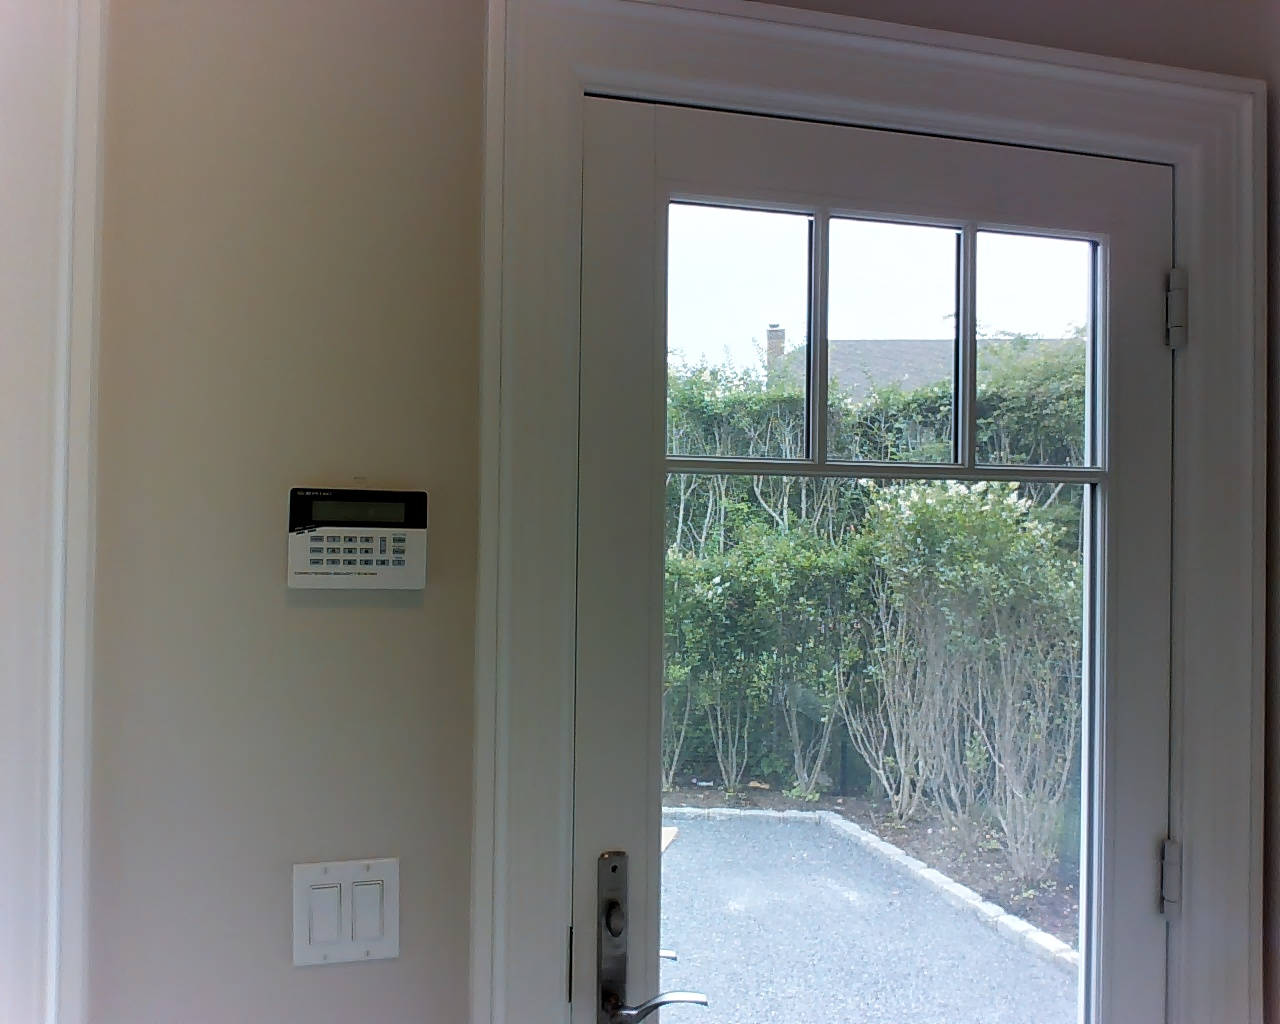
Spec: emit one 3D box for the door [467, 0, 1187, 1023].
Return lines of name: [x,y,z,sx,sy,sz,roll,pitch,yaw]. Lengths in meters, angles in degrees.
door: [0.270,0.510,1.460,0.980,2.220,0.140,1,-1,-16]

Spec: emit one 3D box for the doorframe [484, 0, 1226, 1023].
doorframe: [0.300,0.460,1.370,0.980,2.210,0.080,1,-1,-16]
